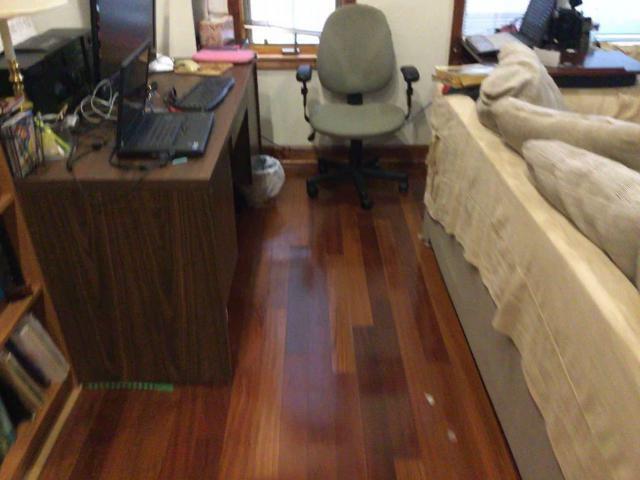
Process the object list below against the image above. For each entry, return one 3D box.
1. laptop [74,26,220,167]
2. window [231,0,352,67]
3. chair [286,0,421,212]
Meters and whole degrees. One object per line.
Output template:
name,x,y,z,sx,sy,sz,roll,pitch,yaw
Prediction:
laptop,-0.490,-0.450,1.750,0.270,0.280,0.460,-4,30,1
window,-0.150,-1.230,3.070,0.610,0.530,0.160,-4,30,1
chair,0.170,-0.720,2.960,0.570,0.900,0.670,-4,30,1
